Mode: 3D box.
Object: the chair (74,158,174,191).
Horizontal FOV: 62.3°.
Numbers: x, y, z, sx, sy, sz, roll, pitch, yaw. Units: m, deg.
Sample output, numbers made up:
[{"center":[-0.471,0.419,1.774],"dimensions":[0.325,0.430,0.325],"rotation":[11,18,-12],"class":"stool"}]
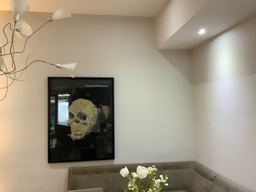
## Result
[{"center":[-0.070,1.340,2.580],"dimensions":[1.100,0.960,0.600],"rotation":[0,-2,-9],"class":"chair"}]
